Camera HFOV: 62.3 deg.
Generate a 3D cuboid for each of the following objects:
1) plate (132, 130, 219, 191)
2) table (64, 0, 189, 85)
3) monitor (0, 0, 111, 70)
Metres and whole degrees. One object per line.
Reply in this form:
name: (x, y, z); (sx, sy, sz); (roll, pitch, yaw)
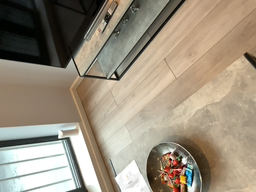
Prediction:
plate: (0.200, 0.410, 1.020); (0.310, 0.040, 0.370); (42, 117, 38)
table: (-0.030, -0.570, 1.620); (1.070, 0.420, 0.360); (-46, 58, 34)
monitor: (-0.440, -0.610, 1.200); (1.230, 0.730, 0.070); (-44, 59, 35)
